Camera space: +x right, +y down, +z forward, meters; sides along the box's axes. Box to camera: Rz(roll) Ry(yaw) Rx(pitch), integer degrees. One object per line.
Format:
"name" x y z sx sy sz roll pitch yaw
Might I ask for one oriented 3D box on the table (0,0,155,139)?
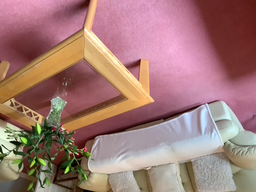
"table" -0.500 -0.130 1.750 1.170 0.440 0.810 -20 138 26

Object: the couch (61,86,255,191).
"couch" 0.410 0.910 2.620 2.240 0.990 1.040 -20 138 26
